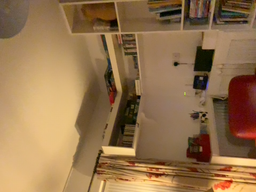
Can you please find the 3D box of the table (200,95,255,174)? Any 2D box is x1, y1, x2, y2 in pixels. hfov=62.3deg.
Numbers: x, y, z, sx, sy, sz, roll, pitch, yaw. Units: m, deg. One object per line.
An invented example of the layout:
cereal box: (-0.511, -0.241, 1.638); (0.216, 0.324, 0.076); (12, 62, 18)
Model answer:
table: (1.340, 0.400, 2.350); (0.270, 0.960, 0.840); (80, -163, -45)
